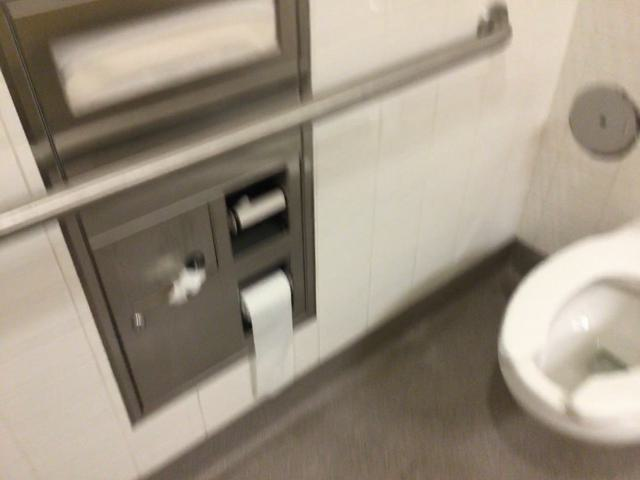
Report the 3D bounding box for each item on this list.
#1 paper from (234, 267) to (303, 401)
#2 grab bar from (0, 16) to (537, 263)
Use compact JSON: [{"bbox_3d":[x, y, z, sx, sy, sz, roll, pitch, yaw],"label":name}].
[{"bbox_3d":[-0.100,0.200,1.190,0.110,0.290,0.050,-26,45,-26],"label":"paper"},{"bbox_3d":[-0.110,-0.150,0.820,1.190,0.050,0.080,-26,45,-26],"label":"grab bar"}]
